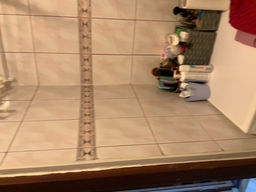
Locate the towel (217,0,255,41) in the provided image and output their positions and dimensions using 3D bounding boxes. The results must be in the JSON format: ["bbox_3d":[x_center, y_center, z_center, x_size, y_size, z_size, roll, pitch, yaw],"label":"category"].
[{"bbox_3d":[0.490,-0.340,0.870,0.260,0.070,0.170,-110,22,-62],"label":"towel"}]
